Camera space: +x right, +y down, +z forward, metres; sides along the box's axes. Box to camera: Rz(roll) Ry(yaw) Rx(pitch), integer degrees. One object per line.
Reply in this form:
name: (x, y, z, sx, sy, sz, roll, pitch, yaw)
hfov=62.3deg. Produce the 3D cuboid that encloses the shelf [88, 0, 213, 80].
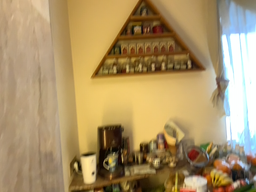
shelf: (0.200, -0.550, 1.880, 1.040, 0.730, 0.100, -5, 1, -4)
